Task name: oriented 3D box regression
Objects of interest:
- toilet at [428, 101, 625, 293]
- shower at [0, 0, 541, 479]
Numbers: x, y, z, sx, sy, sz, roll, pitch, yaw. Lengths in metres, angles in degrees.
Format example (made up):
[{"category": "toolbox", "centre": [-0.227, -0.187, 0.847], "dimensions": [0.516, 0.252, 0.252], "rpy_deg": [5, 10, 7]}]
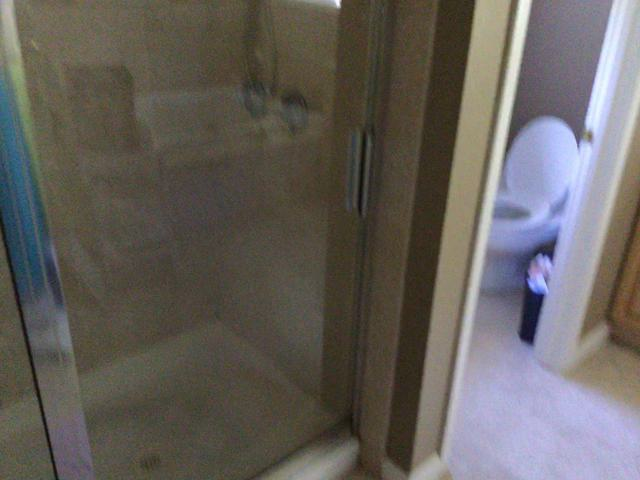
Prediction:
[{"category": "toilet", "centre": [0.950, -0.240, 2.710], "dimensions": [0.700, 0.640, 0.500], "rpy_deg": [-20, 31, -34]}, {"category": "shower", "centre": [-0.390, -0.160, 1.420], "dimensions": [1.460, 2.010, 1.050], "rpy_deg": [-20, 31, -34]}]
